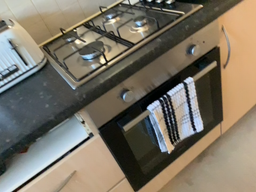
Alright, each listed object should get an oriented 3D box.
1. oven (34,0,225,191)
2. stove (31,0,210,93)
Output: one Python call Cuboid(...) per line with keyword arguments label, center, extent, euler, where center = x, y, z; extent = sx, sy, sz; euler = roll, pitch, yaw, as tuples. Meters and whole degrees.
Cuboid(label="oven", center=(0.080, 0.060, 1.220), extent=(0.610, 0.960, 0.610), euler=(-36, 41, -15))
Cuboid(label="stove", center=(-0.080, -0.310, 0.930), extent=(0.610, 0.040, 0.560), euler=(-36, 41, -15))
